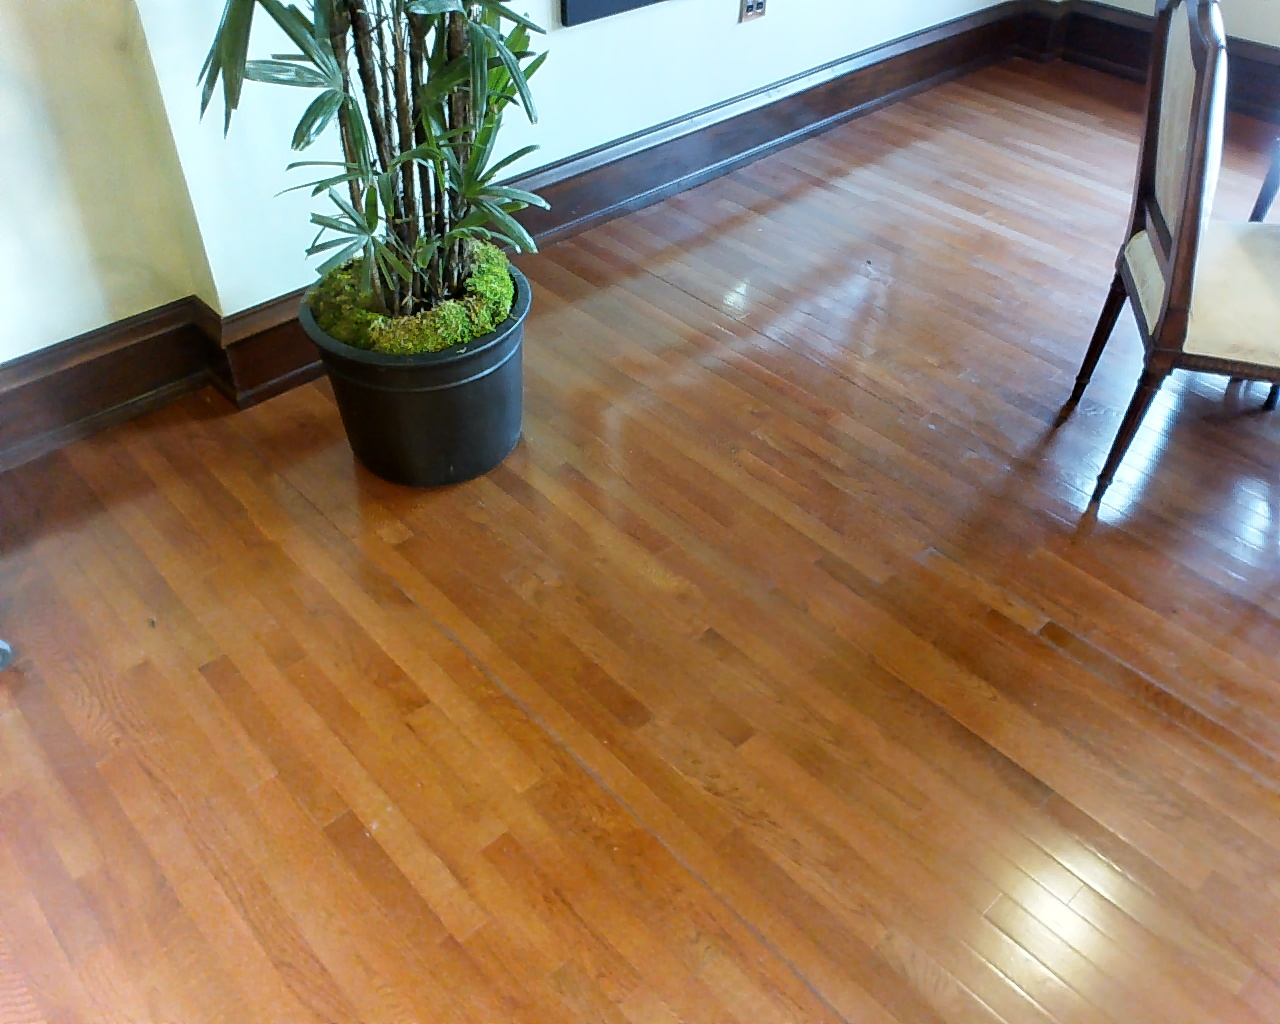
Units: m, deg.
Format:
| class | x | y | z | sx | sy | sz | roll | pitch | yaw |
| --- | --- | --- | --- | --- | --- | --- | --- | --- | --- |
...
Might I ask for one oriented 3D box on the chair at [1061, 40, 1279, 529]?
| class | x | y | z | sx | sy | sz | roll | pitch | yaw |
| --- | --- | --- | --- | --- | --- | --- | --- | --- | --- |
| chair | 1.380 | -0.450 | 2.260 | 0.740 | 0.800 | 0.540 | 12 | 43 | 12 |
